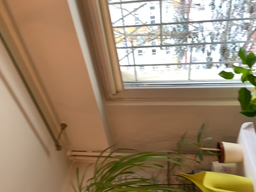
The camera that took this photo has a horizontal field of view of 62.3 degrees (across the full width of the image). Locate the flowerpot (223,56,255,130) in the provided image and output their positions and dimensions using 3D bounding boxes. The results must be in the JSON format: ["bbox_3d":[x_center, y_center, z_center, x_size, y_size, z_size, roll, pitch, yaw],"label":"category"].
[{"bbox_3d":[0.770,-0.020,1.120,0.300,0.400,0.260,-81,-14,-45],"label":"flowerpot"}]

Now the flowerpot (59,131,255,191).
[{"bbox_3d":[0.140,0.640,1.100,0.710,0.880,0.530,-80,-14,-47],"label":"flowerpot"}]
